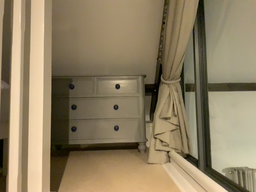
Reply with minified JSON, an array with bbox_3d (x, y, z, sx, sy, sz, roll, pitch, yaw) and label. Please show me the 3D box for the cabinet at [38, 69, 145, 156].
[{"bbox_3d":[-0.340,0.160,2.160,0.980,0.780,0.390,-1,-3,0],"label":"cabinet"}]
